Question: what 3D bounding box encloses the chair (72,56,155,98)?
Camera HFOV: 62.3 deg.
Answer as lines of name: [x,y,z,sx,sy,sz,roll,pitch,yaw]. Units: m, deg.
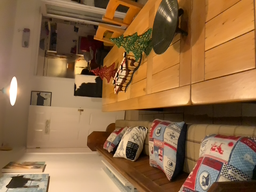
chair: [-0.250,-0.250,3.390,0.650,1.180,0.470,169,105,-72]
